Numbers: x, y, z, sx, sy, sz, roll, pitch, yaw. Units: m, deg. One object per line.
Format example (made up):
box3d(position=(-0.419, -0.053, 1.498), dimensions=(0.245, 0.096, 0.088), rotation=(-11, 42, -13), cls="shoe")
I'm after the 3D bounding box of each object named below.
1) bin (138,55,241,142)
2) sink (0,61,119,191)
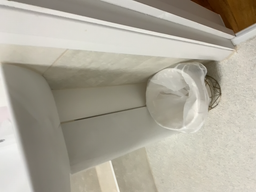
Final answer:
box3d(position=(0.260, 0.010, 0.920), dimensions=(0.270, 0.250, 0.260), rotation=(-30, 75, 41), cls="bin")
box3d(position=(-0.310, 0.230, 0.630), dimensions=(0.580, 0.190, 0.450), rotation=(-26, 78, 42), cls="sink")
